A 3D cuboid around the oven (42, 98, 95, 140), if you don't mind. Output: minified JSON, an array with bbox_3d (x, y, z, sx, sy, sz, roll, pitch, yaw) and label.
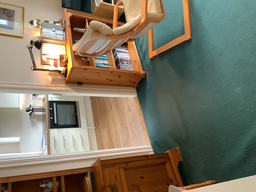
[{"bbox_3d":[-1.270,0.480,4.440,0.620,0.900,0.620,-52,45,47],"label":"oven"}]
